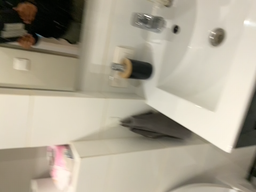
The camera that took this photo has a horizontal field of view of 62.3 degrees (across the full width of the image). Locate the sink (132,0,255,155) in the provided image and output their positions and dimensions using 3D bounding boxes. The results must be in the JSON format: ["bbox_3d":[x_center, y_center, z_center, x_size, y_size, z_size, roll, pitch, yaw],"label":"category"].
[{"bbox_3d":[0.260,-0.210,0.710,0.460,0.140,0.630,31,113,54],"label":"sink"}]
